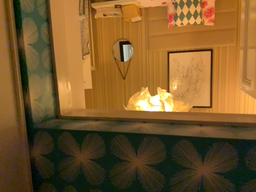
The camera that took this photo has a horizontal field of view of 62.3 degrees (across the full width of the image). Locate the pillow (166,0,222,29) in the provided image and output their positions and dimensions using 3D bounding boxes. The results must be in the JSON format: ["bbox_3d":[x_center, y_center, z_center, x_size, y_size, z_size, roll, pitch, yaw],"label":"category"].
[{"bbox_3d":[0.960,-1.250,3.160,0.760,0.380,0.280,1,-171,15],"label":"pillow"}]

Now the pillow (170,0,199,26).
[{"bbox_3d":[0.790,-1.200,2.970,0.360,0.360,0.270,2,-168,16],"label":"pillow"}]
